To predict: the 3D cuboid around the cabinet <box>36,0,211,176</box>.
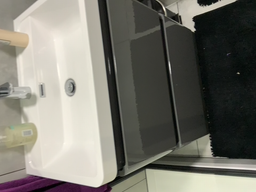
[{"bbox_3d":[0.040,-0.040,1.050,0.420,0.750,0.580,-10,86,38],"label":"cabinet"}]
